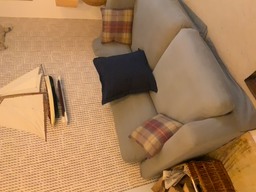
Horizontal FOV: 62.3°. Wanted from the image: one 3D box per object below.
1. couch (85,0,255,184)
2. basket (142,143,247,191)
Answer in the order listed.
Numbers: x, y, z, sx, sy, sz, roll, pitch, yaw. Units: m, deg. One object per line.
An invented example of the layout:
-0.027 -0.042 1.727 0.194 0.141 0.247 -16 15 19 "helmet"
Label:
0.230 -0.340 2.140 1.060 0.820 1.960 117 141 -52 "couch"
0.510 0.760 1.750 0.580 0.510 0.460 117 140 -53 "basket"
